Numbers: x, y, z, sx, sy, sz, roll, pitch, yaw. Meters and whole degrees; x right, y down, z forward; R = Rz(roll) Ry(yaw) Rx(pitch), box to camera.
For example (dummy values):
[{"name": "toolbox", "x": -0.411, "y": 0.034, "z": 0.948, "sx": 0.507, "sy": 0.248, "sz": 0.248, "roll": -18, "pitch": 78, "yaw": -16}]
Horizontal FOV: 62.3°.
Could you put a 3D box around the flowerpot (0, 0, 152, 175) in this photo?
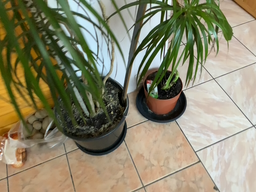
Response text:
[{"name": "flowerpot", "x": -0.160, "y": -0.110, "z": 0.710, "sx": 0.350, "sy": 1.130, "sz": 0.340, "roll": -20, "pitch": 57, "yaw": -9}]
